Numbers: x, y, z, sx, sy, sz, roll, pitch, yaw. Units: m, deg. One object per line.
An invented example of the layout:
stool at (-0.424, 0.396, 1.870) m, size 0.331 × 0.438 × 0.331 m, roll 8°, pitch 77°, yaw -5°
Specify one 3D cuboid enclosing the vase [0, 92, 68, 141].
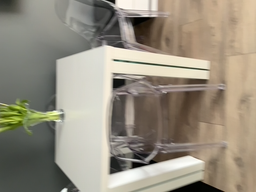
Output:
vase at (-0.660, 0.120, 1.400) m, size 0.190 × 0.470 × 0.280 m, roll -4°, pitch 87°, yaw 56°
